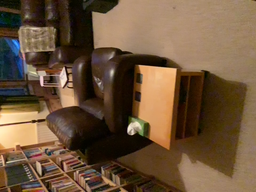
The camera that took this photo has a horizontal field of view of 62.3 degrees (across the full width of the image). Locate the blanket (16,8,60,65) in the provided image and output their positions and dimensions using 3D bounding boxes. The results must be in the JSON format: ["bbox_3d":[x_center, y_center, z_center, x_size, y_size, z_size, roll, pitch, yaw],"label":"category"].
[{"bbox_3d":[-1.590,-0.990,3.710,0.550,0.760,0.640,-3,179,-36],"label":"blanket"}]
